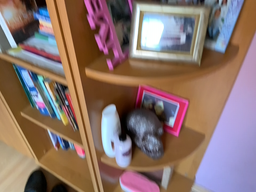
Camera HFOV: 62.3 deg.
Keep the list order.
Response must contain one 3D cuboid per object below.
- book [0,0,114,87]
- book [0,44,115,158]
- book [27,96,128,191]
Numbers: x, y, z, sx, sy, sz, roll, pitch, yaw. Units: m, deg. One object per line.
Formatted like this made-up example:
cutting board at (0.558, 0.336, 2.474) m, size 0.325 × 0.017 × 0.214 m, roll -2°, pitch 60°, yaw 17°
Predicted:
book at (-0.260, -0.240, 0.690) m, size 0.340 × 0.240 × 0.250 m, roll 17°, pitch 46°, yaw 17°
book at (-0.280, 0.010, 0.860) m, size 0.390 × 0.290 × 0.210 m, roll 20°, pitch 46°, yaw 20°
book at (-0.240, 0.250, 1.110) m, size 0.410 × 0.300 × 0.240 m, roll 20°, pitch 47°, yaw 21°
